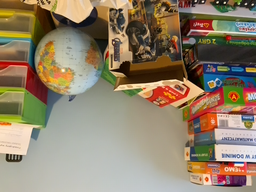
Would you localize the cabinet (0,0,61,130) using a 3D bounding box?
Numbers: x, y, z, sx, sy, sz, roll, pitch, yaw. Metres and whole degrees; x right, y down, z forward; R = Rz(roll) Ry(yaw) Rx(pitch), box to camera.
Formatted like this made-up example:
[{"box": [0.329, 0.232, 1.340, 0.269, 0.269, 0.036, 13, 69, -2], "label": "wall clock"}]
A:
[{"box": [-0.370, -0.140, 0.720, 0.200, 0.490, 0.230, 2, 166, -7], "label": "cabinet"}]
